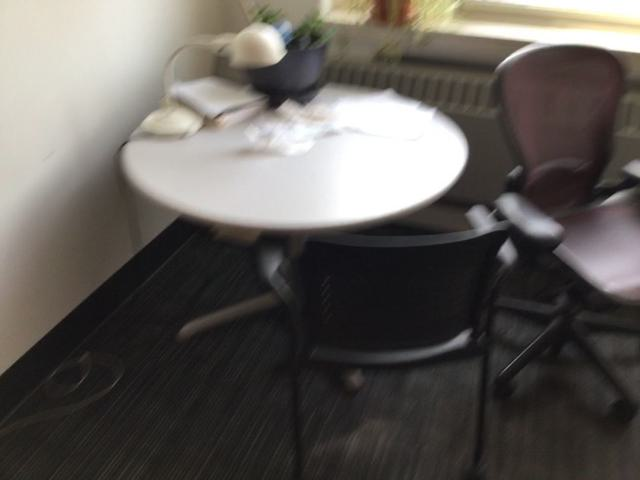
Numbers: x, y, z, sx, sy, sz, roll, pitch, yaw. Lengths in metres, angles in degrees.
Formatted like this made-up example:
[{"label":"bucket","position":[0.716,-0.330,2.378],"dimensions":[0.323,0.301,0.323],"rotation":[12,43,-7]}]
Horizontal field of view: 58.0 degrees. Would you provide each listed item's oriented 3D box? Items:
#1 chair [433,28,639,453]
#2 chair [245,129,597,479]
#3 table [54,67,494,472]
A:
[{"label":"chair","position":[0.820,-0.050,1.720],"dimensions":[0.610,0.980,0.650],"rotation":[-12,30,-21]},{"label":"chair","position":[0.180,0.190,1.480],"dimensions":[0.610,0.760,0.550],"rotation":[-8,29,-13]},{"label":"table","position":[-0.030,-0.040,1.940],"dimensions":[0.990,0.790,1.050],"rotation":[10,30,18]}]
